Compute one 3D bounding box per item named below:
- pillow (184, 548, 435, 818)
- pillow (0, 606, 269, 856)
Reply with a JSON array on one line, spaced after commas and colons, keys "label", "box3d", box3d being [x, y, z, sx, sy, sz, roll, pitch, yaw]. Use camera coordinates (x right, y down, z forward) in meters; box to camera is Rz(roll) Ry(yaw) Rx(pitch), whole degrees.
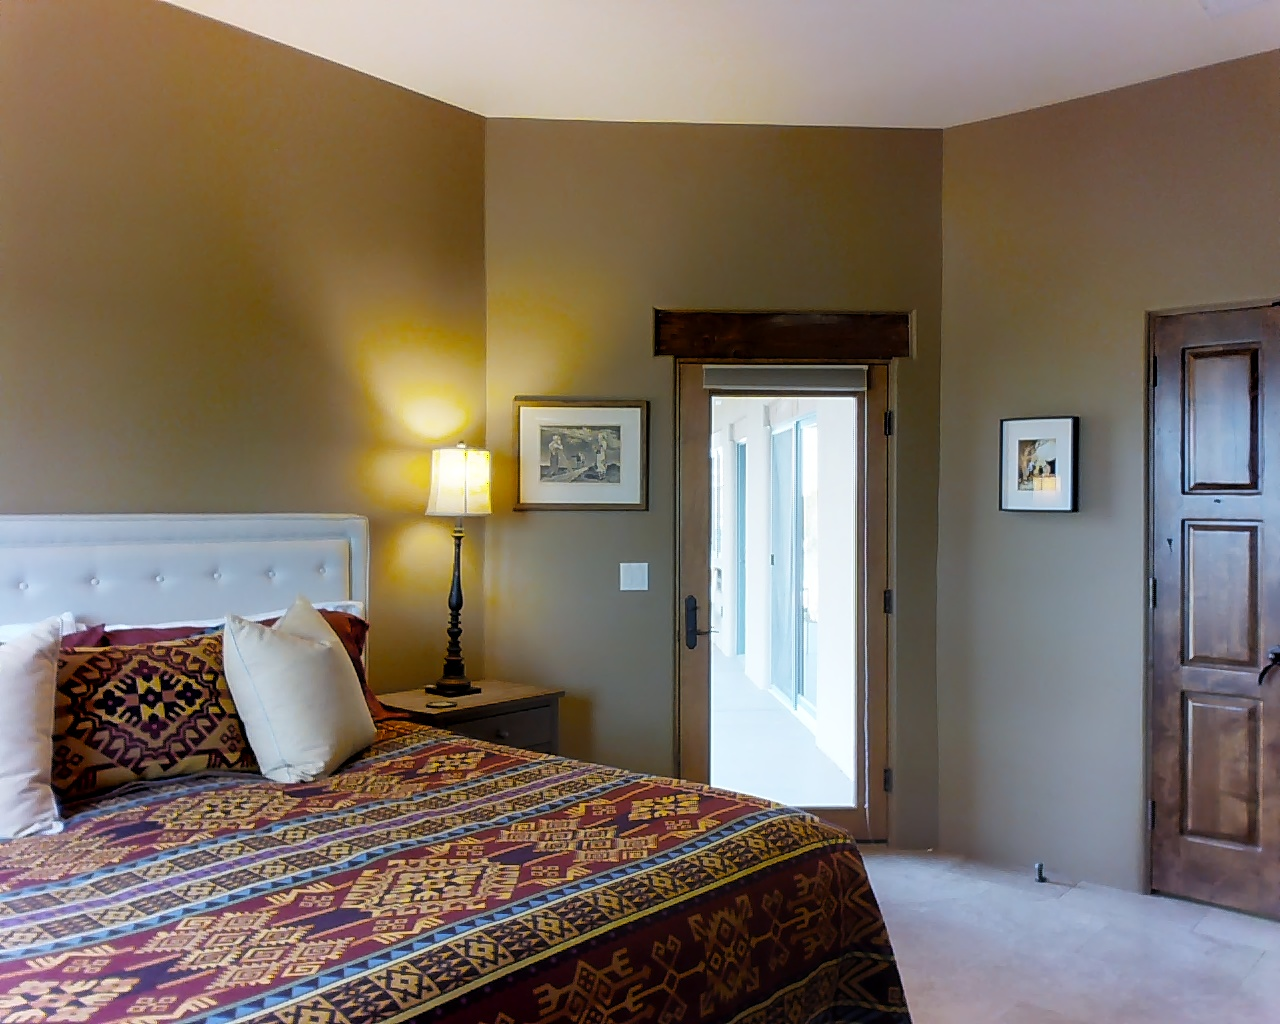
[{"label": "pillow", "box3d": [-0.900, 0.500, 3.040, 0.320, 0.570, 0.540, 16, -22, 10]}, {"label": "pillow", "box3d": [-1.250, 0.550, 2.680, 0.170, 0.500, 0.440, 0, -24, 41]}]
